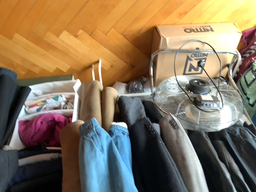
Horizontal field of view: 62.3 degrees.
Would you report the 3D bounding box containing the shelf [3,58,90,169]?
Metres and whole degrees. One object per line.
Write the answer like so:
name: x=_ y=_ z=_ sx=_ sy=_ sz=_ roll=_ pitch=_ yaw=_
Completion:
shelf: x=-0.460 y=0.080 z=1.360 sx=0.350 sy=0.640 sz=0.270 roll=-9 pitch=136 yaw=1
